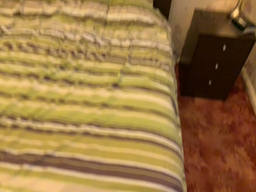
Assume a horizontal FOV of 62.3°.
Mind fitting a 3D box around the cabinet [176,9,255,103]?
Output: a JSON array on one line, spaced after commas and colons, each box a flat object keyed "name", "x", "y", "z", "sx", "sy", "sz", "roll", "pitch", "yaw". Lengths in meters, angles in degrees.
[{"name": "cabinet", "x": 0.690, "y": -0.340, "z": 1.830, "sx": 0.410, "sy": 0.580, "sz": 0.500, "roll": 6, "pitch": 45, "yaw": 3}]
